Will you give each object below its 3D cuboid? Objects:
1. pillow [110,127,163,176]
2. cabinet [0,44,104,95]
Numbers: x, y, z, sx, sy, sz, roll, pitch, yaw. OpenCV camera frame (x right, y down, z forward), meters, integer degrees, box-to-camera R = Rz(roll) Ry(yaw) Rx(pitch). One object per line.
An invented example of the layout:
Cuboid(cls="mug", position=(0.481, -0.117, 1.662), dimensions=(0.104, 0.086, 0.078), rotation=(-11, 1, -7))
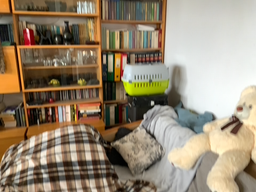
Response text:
Cuboid(cls="pillow", position=(0.070, 0.490, 1.940), dimensions=(0.380, 0.250, 0.310), rotation=(-6, 16, -22))
Cuboid(cls="cabinet", position=(-1.140, -0.310, 2.280), dimensions=(1.690, 0.480, 0.460), rotation=(-5, 16, -18))
